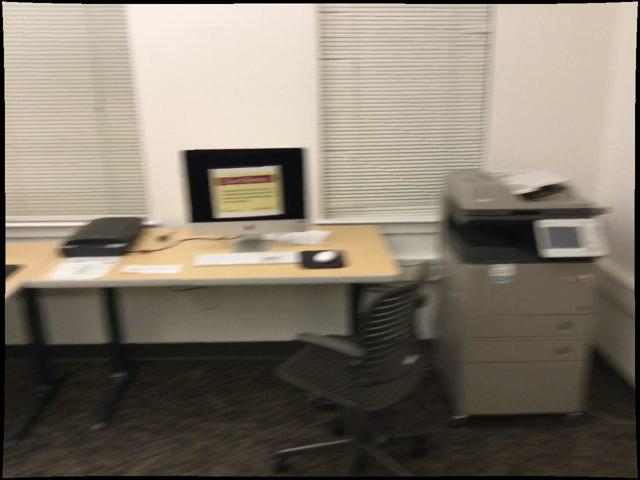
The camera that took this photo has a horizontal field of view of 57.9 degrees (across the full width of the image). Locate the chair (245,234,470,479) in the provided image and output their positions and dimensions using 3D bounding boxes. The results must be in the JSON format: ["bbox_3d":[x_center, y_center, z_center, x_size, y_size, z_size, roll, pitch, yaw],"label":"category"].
[{"bbox_3d":[0.130,0.490,2.080,0.570,0.831,0.510,14,23,36],"label":"chair"}]

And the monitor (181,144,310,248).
[{"bbox_3d":[-0.310,-0.200,2.550,0.519,0.400,0.270,-1,18,-2],"label":"monitor"}]

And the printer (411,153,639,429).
[{"bbox_3d":[0.849,0.180,2.660,0.669,1.021,0.800,-1,18,-2],"label":"printer"}]
